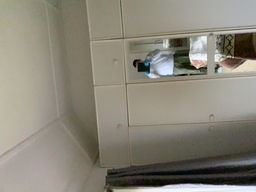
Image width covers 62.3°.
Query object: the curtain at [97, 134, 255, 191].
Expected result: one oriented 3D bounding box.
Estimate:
[{"bbox_3d":[0.770,0.580,1.940,0.410,2.020,0.280,-79,-15,-78],"label":"curtain"}]
